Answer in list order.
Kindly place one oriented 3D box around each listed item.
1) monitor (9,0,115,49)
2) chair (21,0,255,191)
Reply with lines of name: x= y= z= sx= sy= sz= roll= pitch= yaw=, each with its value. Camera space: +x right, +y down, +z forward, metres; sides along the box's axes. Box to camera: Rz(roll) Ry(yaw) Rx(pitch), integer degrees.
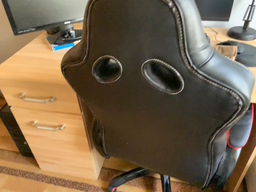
monitor: x=-0.310 y=-0.480 z=1.060 sx=0.500 sy=0.390 sz=0.080 roll=-19 pitch=44 yaw=-23
chair: x=0.210 y=0.040 z=1.000 sx=0.680 sy=1.160 sz=0.730 roll=12 pitch=41 yaw=18
